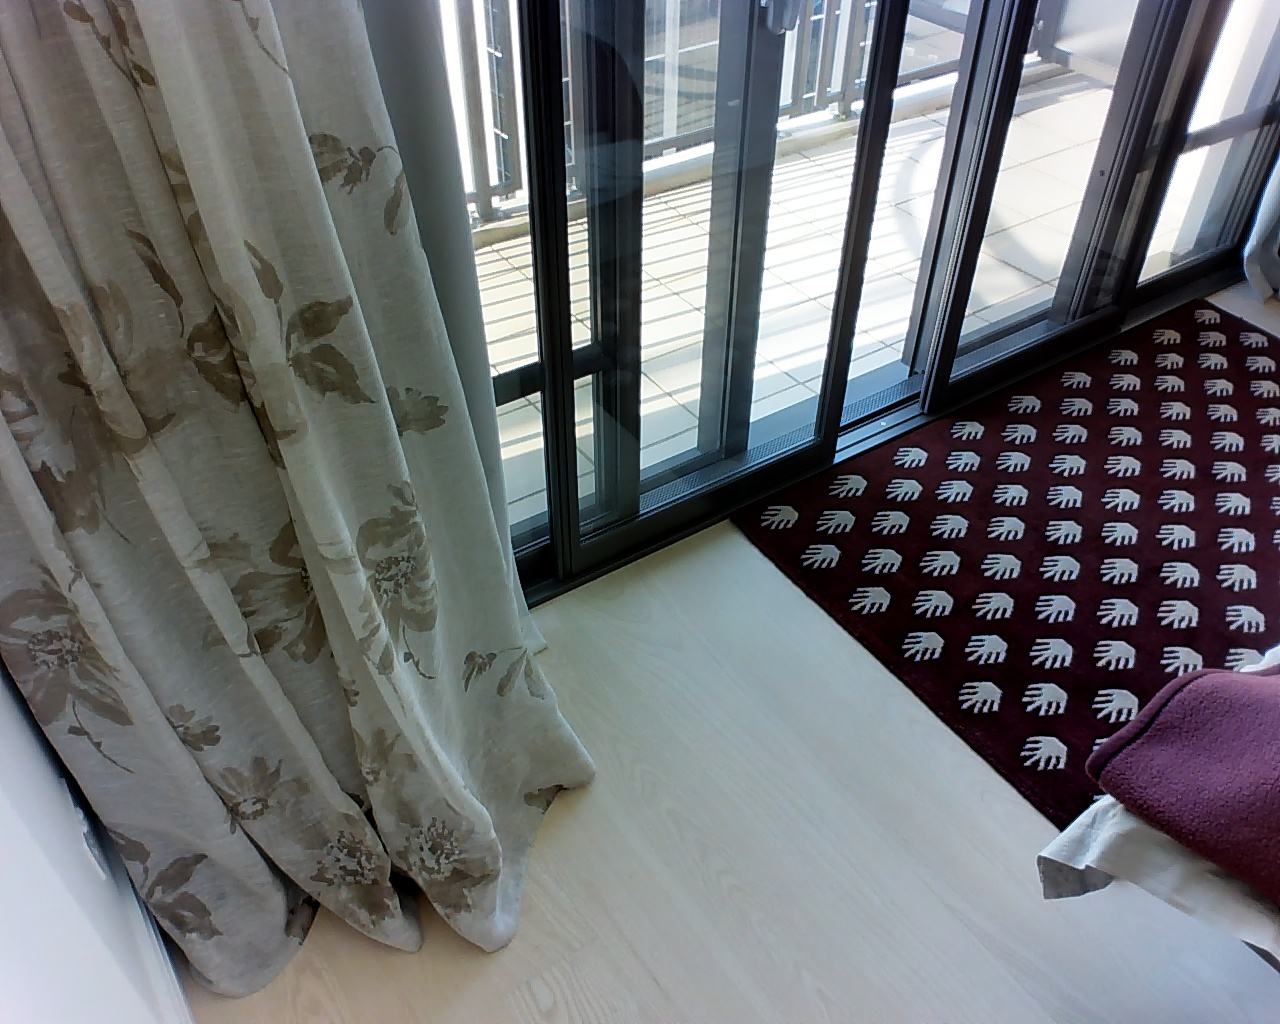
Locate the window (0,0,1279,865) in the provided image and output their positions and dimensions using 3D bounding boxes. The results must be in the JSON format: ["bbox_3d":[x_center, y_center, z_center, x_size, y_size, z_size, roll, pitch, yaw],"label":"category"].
[{"bbox_3d":[0.700,-1.170,1.460,3.540,2.610,0.170,-24,47,-25],"label":"window"}]
